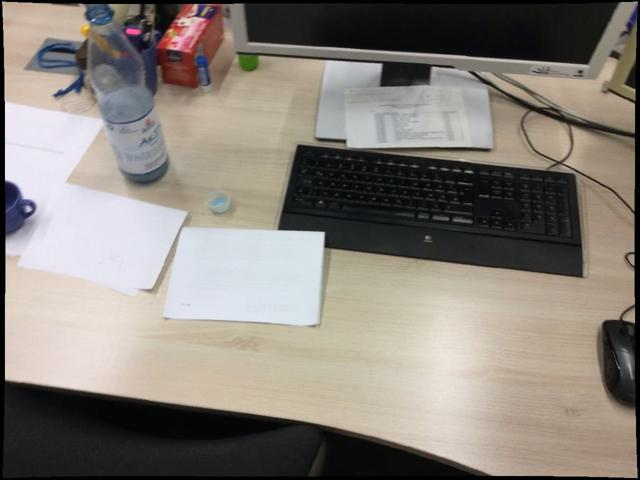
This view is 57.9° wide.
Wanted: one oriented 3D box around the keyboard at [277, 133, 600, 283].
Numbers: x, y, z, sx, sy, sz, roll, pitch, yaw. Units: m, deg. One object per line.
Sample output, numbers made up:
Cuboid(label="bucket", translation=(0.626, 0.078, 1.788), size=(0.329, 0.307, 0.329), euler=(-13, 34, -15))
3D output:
Cuboid(label="keyboard", translation=(0.180, -0.060, 0.910), size=(0.460, 0.030, 0.230), euler=(5, 55, 5))
